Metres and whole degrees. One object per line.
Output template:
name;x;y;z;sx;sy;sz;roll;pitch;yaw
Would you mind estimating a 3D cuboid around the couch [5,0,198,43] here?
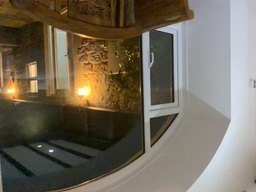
couch;-0.110;-0.810;1.310;1.060;0.760;0.580;-5;-175;-42
